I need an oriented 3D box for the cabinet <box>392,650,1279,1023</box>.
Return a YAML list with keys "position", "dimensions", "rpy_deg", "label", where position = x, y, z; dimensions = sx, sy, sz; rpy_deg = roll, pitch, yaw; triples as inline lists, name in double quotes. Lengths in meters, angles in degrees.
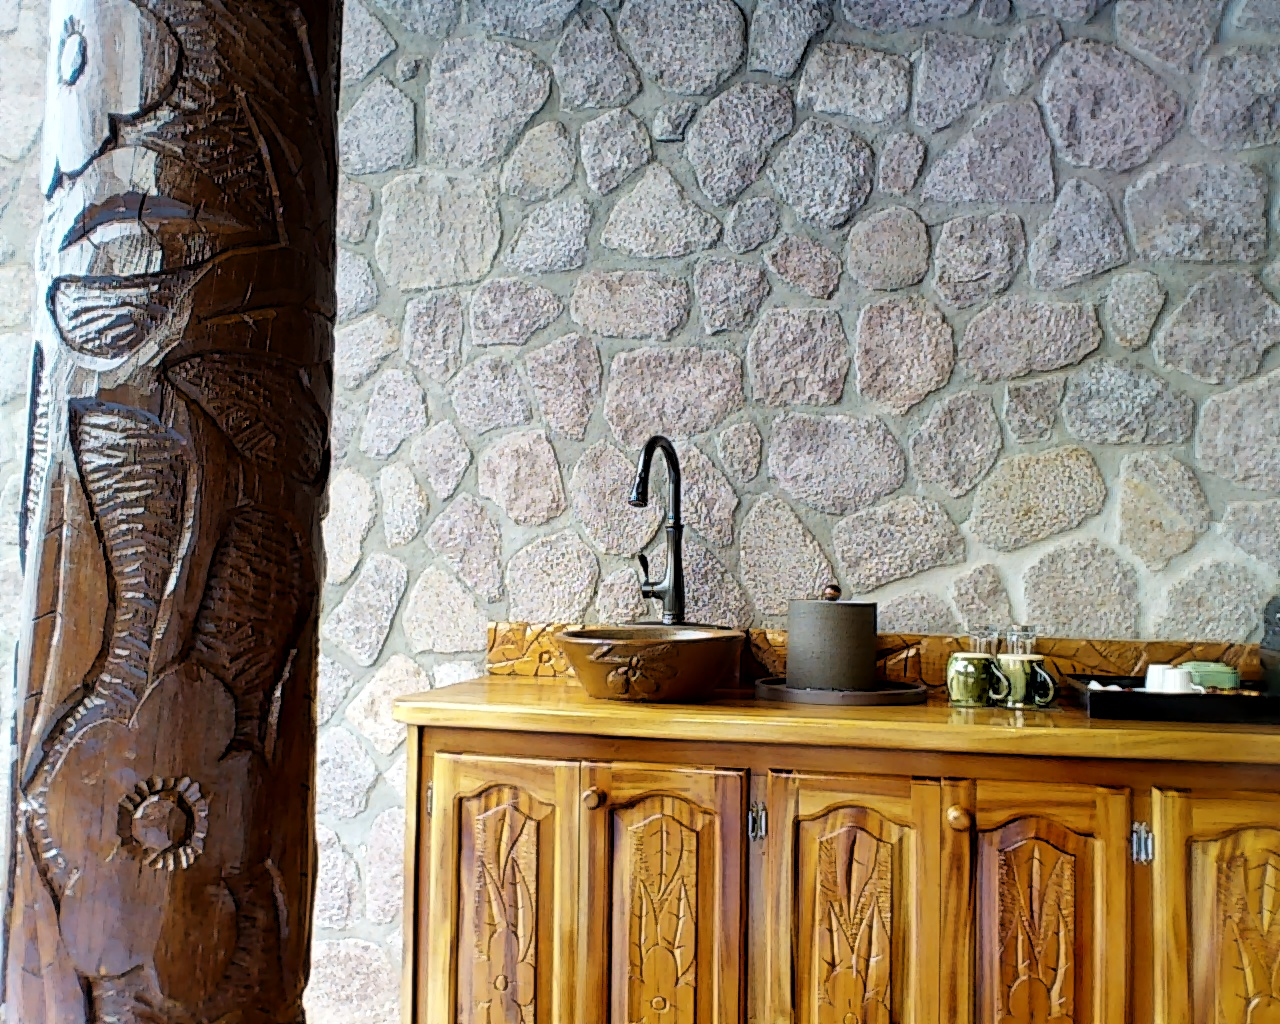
- position: [0.670, 0.830, 2.080]
  dimensions: [2.180, 0.990, 0.610]
  rpy_deg: [1, -2, 12]
  label: "cabinet"
